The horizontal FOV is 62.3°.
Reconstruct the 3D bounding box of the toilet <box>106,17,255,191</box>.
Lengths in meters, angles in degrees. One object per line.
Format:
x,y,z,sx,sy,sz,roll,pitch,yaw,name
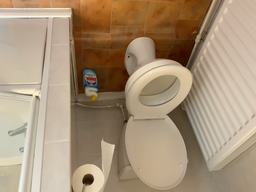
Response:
0.160,0.060,1.300,0.460,0.850,0.650,-3,142,-13,toilet
